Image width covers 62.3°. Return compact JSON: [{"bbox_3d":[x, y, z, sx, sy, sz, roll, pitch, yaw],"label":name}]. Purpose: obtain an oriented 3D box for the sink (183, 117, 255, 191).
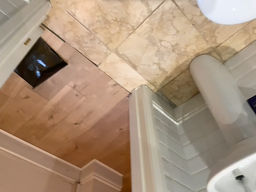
[{"bbox_3d":[0.530,0.270,0.880,0.460,0.130,0.330,-38,121,25],"label":"sink"}]
